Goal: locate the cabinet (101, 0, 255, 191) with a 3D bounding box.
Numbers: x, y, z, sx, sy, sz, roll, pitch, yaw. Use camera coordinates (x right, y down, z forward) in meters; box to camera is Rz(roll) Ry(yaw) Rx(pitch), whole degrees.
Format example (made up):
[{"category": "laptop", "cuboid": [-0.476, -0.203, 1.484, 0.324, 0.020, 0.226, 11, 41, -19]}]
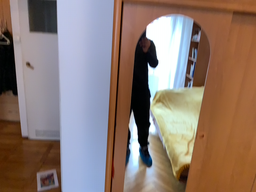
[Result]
[{"category": "cabinet", "cuboid": [0.790, 0.100, 1.440, 1.840, 2.300, 0.720, 4, 18, -2]}]
